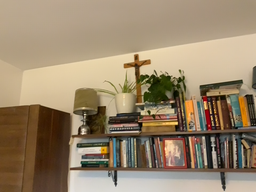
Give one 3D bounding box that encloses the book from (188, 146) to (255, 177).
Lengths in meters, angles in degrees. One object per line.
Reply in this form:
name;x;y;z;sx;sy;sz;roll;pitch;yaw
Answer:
book;0.760;0.450;1.480;0.630;0.190;0.190;-4;-15;13
